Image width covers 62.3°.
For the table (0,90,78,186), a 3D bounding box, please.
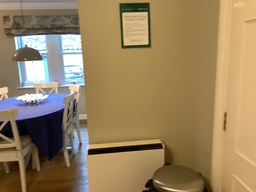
[{"bbox_3d":[-1.370,0.450,2.990,1.120,0.750,1.520,-3,12,-8],"label":"table"}]
